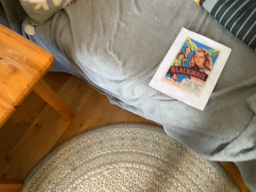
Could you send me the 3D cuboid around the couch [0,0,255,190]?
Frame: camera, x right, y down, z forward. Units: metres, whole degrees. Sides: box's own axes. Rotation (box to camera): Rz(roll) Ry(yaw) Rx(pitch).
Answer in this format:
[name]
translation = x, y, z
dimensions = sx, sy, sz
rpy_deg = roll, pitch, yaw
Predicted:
[couch]
translation = 0.170, -0.320, 0.960
dimensions = 1.510, 0.660, 0.740
rpy_deg = 29, 73, 14
